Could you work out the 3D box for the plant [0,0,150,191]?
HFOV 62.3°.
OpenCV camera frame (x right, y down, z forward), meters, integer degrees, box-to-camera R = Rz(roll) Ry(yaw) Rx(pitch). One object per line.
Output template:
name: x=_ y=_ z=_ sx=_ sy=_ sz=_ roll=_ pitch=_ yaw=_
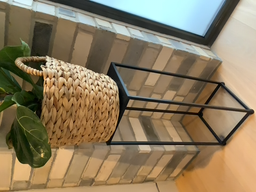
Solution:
plant: x=-0.400 y=0.020 z=0.590 sx=0.430 sy=0.750 sz=0.440 roll=-45 pitch=44 yaw=52
